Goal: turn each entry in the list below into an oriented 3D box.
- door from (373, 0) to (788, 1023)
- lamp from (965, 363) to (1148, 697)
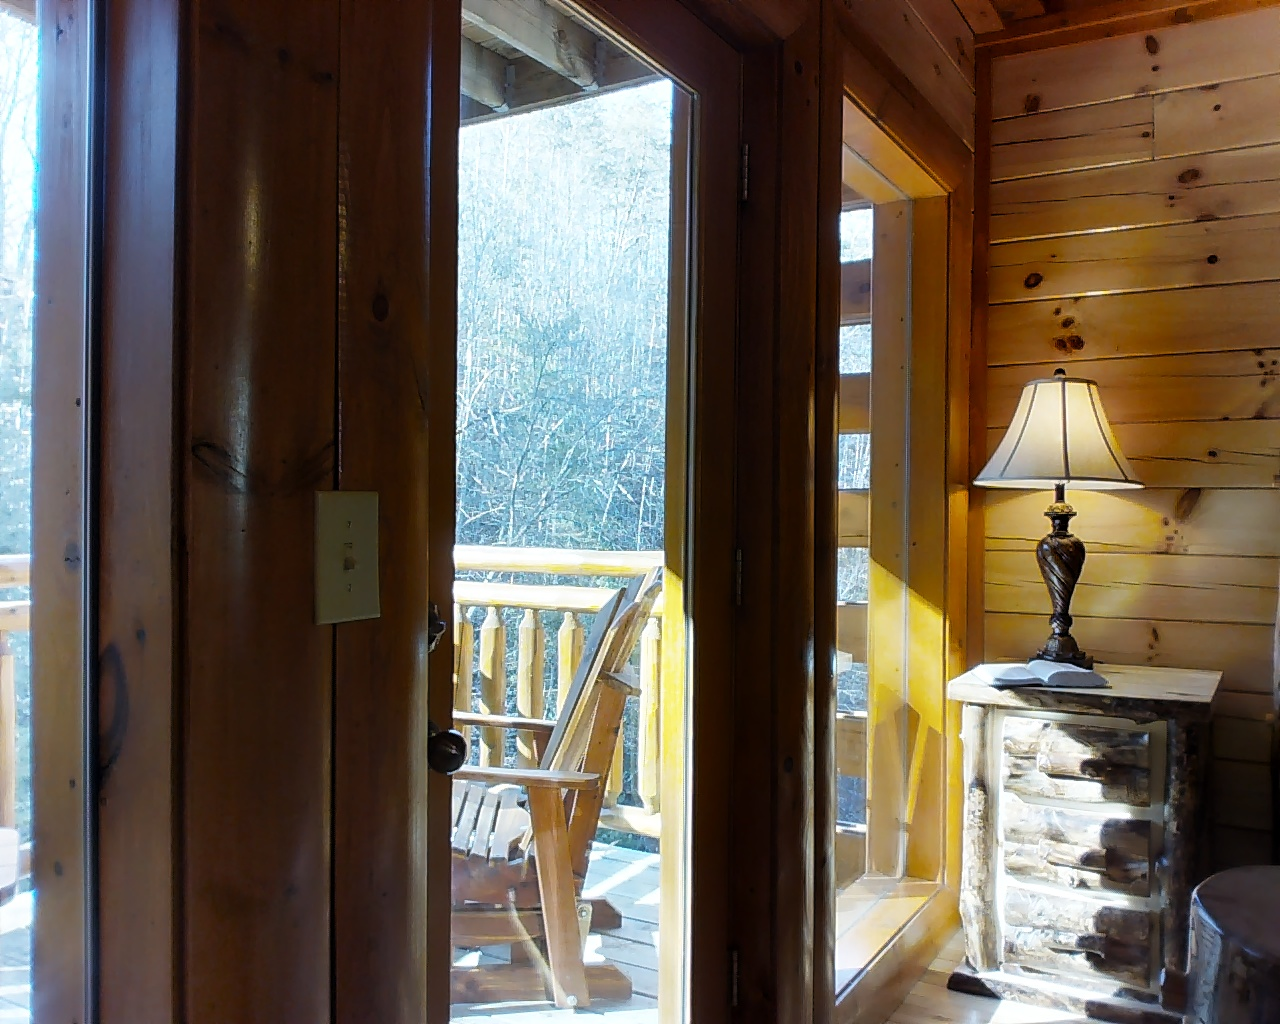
[{"bbox_3d":[-0.040,0.150,1.620,0.200,2.011,0.780,1,1,30],"label":"door"},{"bbox_3d":[1.120,0.040,2.880,0.390,0.810,0.400,1,1,29],"label":"lamp"}]
